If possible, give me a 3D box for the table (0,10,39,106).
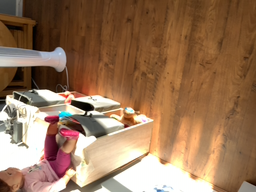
[{"bbox_3d":[-1.370,-0.390,2.190,0.380,0.720,0.920,15,105,37],"label":"table"}]
